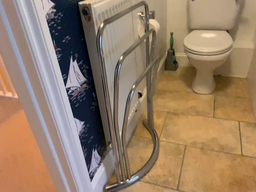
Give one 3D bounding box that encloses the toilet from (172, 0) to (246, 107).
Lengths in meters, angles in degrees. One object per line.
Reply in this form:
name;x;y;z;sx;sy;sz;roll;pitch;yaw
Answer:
toilet;0.660;-0.440;1.810;0.420;0.790;0.660;7;34;19
